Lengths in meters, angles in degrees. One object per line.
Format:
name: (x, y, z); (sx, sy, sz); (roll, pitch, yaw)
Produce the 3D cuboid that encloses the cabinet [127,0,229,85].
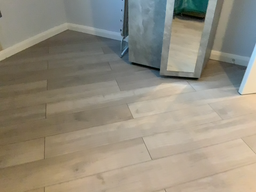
cabinet: (0.470, -1.110, 1.740); (0.780, 1.870, 0.560); (19, 41, 22)
